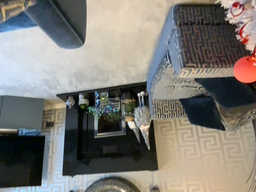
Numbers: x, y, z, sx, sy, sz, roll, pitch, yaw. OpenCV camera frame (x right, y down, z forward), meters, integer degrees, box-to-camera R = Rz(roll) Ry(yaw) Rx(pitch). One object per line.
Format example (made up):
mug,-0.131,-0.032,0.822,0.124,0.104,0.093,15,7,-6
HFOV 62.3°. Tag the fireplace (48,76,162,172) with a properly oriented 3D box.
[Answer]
fireplace,-0.280,0.450,3.030,1.380,1.120,0.680,-7,159,9
